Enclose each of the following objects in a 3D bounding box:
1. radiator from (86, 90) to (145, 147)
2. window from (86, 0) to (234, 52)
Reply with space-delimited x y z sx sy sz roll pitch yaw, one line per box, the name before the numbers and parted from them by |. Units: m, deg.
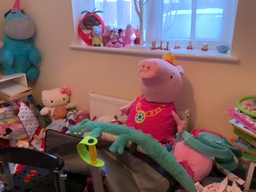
radiator | -0.100 0.170 1.680 0.470 0.350 0.090 11 24 26
window | 0.150 -0.820 1.440 1.090 0.950 0.040 11 24 26
